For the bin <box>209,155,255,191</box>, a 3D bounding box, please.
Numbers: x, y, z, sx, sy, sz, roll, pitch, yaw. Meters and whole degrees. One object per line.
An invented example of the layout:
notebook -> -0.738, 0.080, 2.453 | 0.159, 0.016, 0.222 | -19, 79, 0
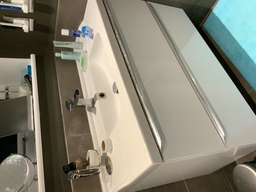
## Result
bin -> 0.690, 0.450, 1.150 | 0.310, 0.290, 0.190 | -58, 42, 48
